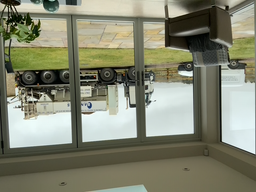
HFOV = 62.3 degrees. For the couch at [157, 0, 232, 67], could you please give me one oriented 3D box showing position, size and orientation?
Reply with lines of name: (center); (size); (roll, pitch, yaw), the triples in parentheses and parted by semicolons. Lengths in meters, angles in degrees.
couch: (0.970, -0.860, 3.050); (0.800, 0.800, 0.800); (1, -176, 38)
